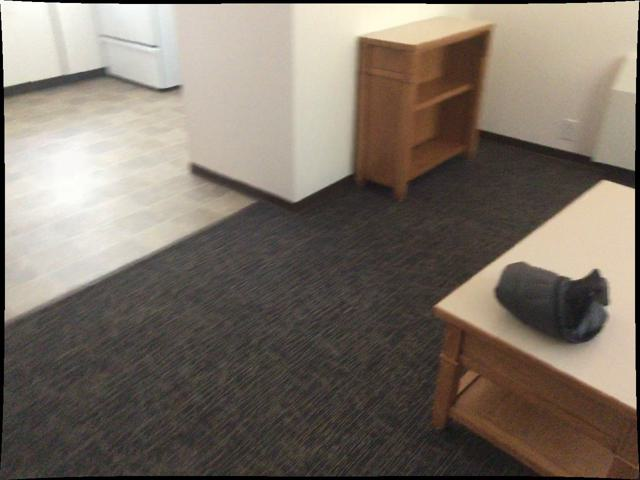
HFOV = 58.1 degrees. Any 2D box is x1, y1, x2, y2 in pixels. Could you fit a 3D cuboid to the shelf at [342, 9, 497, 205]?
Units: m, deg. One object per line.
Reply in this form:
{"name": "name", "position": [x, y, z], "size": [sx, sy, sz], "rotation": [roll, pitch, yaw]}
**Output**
{"name": "shelf", "position": [0.519, -0.721, 3.000], "size": [0.320, 0.751, 0.870], "rotation": [24, 39, 33]}

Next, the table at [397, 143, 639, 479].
{"name": "table", "position": [0.829, 0.210, 1.720], "size": [0.659, 0.541, 1.100], "rotation": [24, 39, 32]}
